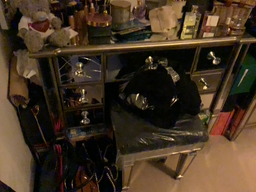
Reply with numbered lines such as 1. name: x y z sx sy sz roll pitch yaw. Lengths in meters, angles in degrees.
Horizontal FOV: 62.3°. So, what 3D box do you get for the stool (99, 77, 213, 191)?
1. stool: 0.100 0.240 1.220 0.450 0.500 0.420 -7 40 -13
